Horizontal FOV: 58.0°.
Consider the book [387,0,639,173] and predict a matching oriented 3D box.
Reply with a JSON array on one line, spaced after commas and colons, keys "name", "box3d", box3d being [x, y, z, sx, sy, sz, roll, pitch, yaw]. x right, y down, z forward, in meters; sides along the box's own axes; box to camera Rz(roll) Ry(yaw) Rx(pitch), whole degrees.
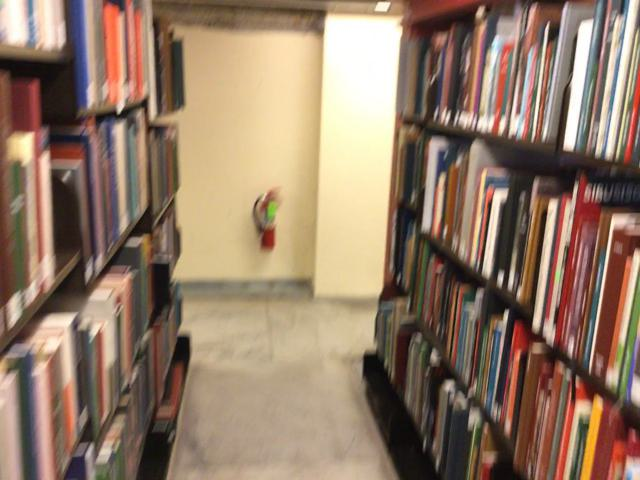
[{"name": "book", "box3d": [0.520, -0.470, 1.730, 0.210, 0.380, 1.690, -1, 12, -8]}]

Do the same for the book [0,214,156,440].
[{"name": "book", "box3d": [-0.660, 0.190, 1.660, 0.260, 0.420, 0.680, -1, 12, -8]}]

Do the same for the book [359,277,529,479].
[{"name": "book", "box3d": [0.370, 0.510, 2.160, 0.180, 0.410, 1.260, -1, 12, -8]}]

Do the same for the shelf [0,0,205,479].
[{"name": "shelf", "box3d": [-0.460, 0.500, 0.310, 0.450, 1.830, 5.350, -1, 12, -8]}]

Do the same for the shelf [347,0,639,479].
[{"name": "shelf", "box3d": [0.800, 0.450, 0.500, 0.610, 1.970, 4.980, -1, 12, -8]}]

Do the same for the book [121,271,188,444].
[{"name": "book", "box3d": [-0.700, 0.460, 2.540, 0.150, 0.430, 0.860, -1, 12, -8]}]

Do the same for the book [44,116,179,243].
[{"name": "book", "box3d": [-0.780, -0.290, 2.330, 0.310, 0.410, 0.930, -1, 12, -8]}]

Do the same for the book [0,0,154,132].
[{"name": "book", "box3d": [-0.640, -0.500, 1.430, 0.290, 0.430, 0.980, -1, 12, -8]}]

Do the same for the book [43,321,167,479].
[{"name": "book", "box3d": [-0.580, 0.600, 1.700, 0.130, 0.430, 0.900, -1, 12, -8]}]

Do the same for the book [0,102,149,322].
[{"name": "book", "box3d": [-0.640, -0.140, 1.430, 0.260, 0.370, 0.980, -1, 12, -8]}]

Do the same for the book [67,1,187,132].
[{"name": "book", "box3d": [-0.720, -0.650, 2.300, 0.290, 0.410, 0.830, -1, 12, -8]}]
